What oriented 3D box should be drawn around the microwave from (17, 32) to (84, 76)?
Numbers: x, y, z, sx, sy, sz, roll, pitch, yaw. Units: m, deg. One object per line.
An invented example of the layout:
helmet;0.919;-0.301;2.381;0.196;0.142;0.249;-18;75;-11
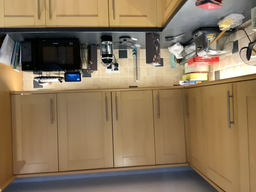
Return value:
microwave;-0.680;-0.370;1.960;0.480;0.310;0.450;-2;180;-7
